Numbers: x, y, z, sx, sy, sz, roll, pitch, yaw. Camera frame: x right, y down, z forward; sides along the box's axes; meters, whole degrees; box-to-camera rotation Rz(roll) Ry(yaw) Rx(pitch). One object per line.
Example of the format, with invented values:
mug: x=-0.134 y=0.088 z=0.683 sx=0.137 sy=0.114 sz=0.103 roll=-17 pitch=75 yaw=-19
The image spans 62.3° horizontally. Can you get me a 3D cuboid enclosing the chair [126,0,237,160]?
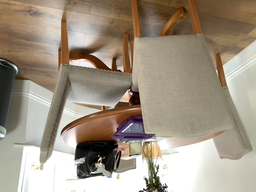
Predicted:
chair: x=0.230 y=-0.120 z=1.340 sx=0.400 sy=0.910 sz=0.620 roll=-5 pitch=156 yaw=1

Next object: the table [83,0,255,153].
table: x=0.210 y=-0.040 z=1.730 sx=1.000 sy=0.800 sz=1.060 roll=4 pitch=155 yaw=-17

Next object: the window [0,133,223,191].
window: x=-0.190 y=1.280 z=2.390 sx=2.220 sy=1.480 sz=1.060 roll=2 pitch=155 yaw=-14

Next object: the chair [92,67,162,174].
chair: x=-0.060 y=0.290 z=2.220 sx=0.400 sy=0.930 sz=0.630 roll=12 pitch=152 yaw=-31
